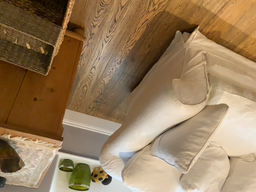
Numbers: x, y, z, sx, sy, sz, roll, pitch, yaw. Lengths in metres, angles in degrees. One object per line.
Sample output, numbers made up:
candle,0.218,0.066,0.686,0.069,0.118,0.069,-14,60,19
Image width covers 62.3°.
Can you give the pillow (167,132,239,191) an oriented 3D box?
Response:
pillow,0.580,0.550,1.630,0.460,0.430,0.210,16,162,-14
